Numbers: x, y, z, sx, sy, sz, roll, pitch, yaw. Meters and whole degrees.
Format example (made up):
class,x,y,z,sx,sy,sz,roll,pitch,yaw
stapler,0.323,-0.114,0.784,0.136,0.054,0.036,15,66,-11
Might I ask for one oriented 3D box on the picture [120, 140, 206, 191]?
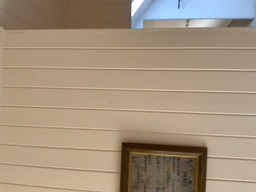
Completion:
class,x,y,z,sx,sy,sz,roll,pitch,yaw
picture,0.140,0.370,0.890,0.050,0.340,0.340,-15,-74,-83
